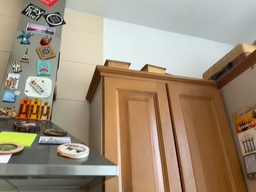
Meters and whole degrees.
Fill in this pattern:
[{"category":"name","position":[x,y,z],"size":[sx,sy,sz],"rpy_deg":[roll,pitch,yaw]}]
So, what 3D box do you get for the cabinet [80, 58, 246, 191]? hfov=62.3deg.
[{"category":"cabinet","position":[0.120,0.300,0.950],"size":[0.600,0.780,0.350],"rpy_deg":[7,-28,-18]}]
